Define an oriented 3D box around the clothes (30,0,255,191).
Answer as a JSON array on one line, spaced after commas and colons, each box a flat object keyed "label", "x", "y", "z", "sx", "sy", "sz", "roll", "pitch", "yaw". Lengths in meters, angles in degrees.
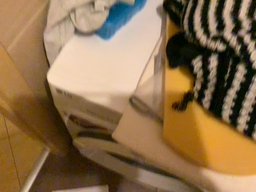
[{"label": "clothes", "x": 0.200, "y": -0.080, "z": 0.430, "sx": 0.530, "sy": 0.170, "sz": 0.500, "roll": 19, "pitch": 65, "yaw": 2}]
